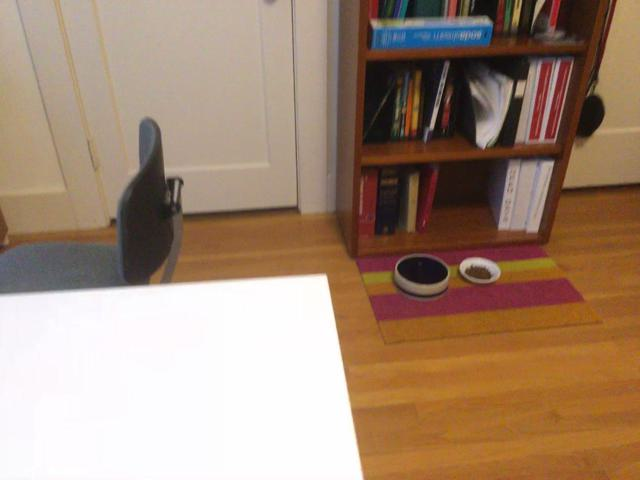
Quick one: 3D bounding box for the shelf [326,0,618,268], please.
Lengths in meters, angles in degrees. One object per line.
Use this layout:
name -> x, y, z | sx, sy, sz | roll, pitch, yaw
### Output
shelf -> 0.450, -0.820, 1.780 | 0.790, 1.830, 0.400 | -4, 31, -8

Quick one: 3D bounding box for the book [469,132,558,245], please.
book -> 0.710, -0.200, 2.170 | 0.150, 0.310, 0.310 | -4, 31, -8

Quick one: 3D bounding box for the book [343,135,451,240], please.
book -> 0.270, -0.200, 2.140 | 0.320, 0.290, 0.250 | -4, 31, -8

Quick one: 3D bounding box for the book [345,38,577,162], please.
book -> 0.450, -0.490, 1.980 | 0.670, 0.310, 0.310 | -4, 31, -8
